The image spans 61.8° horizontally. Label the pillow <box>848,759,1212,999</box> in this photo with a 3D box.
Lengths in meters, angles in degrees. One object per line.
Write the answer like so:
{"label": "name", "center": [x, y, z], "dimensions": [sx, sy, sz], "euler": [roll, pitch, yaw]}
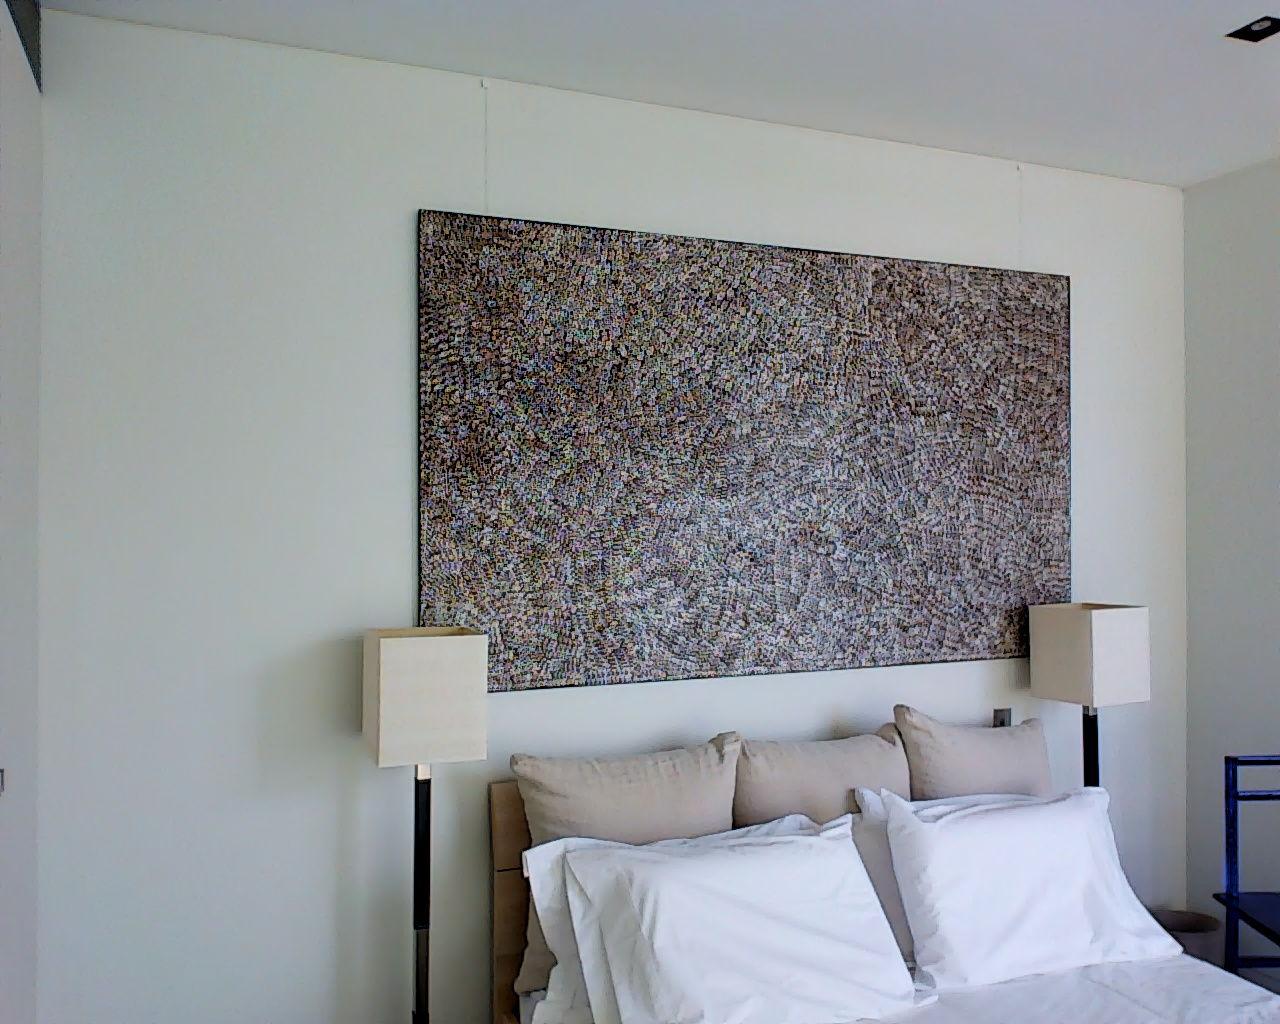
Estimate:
{"label": "pillow", "center": [0.950, 0.890, 2.630], "dimensions": [0.760, 0.450, 0.260], "euler": [0, -23, -22]}

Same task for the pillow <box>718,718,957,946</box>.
{"label": "pillow", "center": [0.520, 0.840, 2.870], "dimensions": [0.490, 0.510, 0.290], "euler": [0, -14, -22]}

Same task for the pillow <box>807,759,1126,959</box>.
{"label": "pillow", "center": [0.870, 0.890, 2.820], "dimensions": [0.860, 0.400, 0.140], "euler": [0, -12, -22]}

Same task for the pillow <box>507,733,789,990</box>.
{"label": "pillow", "center": [0.010, 0.840, 2.680], "dimensions": [0.600, 0.510, 0.330], "euler": [0, -9, -22]}

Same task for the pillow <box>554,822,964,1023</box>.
{"label": "pillow", "center": [0.250, 0.920, 2.330], "dimensions": [0.780, 0.300, 0.420], "euler": [0, -1, -22]}
